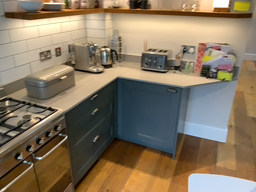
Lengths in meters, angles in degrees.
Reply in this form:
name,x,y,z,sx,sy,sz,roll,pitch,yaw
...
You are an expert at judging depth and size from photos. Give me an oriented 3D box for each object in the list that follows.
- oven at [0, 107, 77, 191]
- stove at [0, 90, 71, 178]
name,x,y,z,sx,sy,sz,roll,pitch,yaw
oven,-0.780,0.540,1.640,0.620,0.730,0.340,12,27,21
stove,-0.880,0.250,1.210,0.620,0.140,0.930,12,27,21
